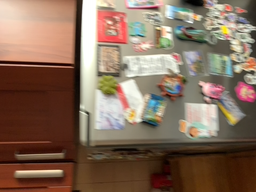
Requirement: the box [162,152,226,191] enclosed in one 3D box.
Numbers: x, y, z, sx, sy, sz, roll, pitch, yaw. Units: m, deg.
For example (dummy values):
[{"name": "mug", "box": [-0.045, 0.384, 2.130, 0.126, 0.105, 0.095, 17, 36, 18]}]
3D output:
[{"name": "box", "box": [0.300, 0.480, 1.000, 0.340, 0.140, 0.400, 124, 145, -70]}]
